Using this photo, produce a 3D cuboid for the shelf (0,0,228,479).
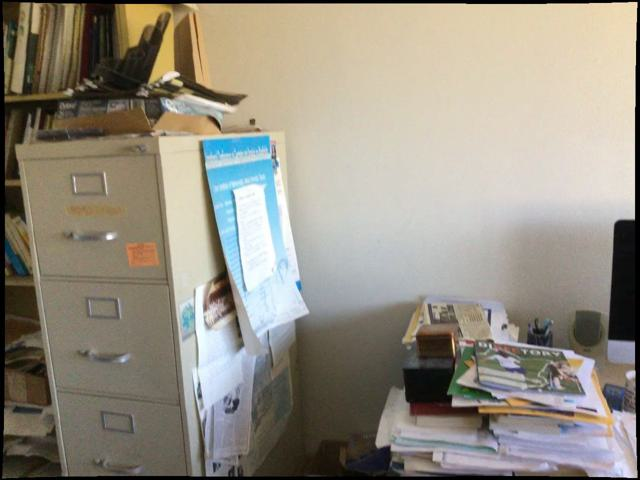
[{"bbox_3d":[-0.967,0.080,2.030,1.047,1.975,0.430,0,12,15],"label":"shelf"}]
